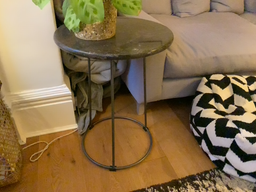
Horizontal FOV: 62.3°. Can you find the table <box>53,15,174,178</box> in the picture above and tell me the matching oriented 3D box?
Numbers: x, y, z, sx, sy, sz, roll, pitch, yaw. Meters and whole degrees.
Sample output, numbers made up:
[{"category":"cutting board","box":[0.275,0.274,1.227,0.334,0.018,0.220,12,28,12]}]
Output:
[{"category":"table","box":[-0.090,-0.010,0.910,0.350,0.550,0.360,-8,36,-16]}]

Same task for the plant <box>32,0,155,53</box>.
[{"category":"plant","box":[-0.110,-0.270,0.640,0.310,0.180,0.220,-8,36,-16]}]
